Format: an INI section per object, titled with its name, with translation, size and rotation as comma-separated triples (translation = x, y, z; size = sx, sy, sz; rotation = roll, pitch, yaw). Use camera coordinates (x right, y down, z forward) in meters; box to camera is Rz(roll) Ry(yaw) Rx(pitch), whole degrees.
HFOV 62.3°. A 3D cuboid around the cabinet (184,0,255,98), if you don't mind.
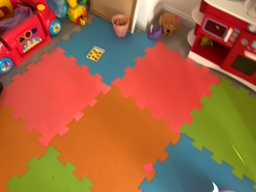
[cabinet]
translation = 0.870, -0.340, 1.410
size = 0.780, 0.490, 0.370
rotation = 35, 63, 17
